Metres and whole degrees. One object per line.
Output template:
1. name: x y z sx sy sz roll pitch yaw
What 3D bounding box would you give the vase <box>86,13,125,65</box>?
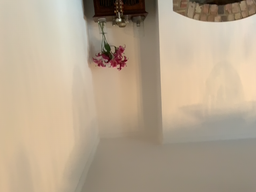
1. vase: -0.260 -0.680 2.630 0.410 0.570 0.350 -4 -172 -1
